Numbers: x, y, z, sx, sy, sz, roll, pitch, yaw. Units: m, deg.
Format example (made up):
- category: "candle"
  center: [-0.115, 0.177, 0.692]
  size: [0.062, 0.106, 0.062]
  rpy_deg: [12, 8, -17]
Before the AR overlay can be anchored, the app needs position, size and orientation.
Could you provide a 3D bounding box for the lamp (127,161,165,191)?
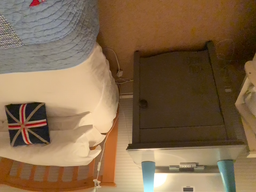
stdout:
- category: "lamp"
  center: [0.130, 0.640, 1.370]
  size: [0.210, 0.350, 0.330]
  rpy_deg: [-4, 149, 11]
